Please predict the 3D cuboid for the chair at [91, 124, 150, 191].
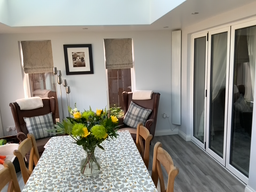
[{"bbox_3d":[-0.080,0.810,2.040,0.470,0.940,0.470,-3,10,-8],"label":"chair"}]
